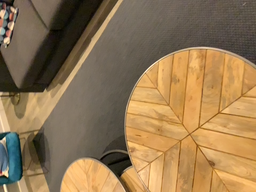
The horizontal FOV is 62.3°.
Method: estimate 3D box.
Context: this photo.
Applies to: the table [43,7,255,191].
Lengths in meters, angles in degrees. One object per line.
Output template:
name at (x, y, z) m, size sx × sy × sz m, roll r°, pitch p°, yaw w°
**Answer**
table at (0.150, 0.590, 1.460) m, size 1.960 × 0.380 × 1.030 m, roll -49°, pitch 61°, yaw 28°
